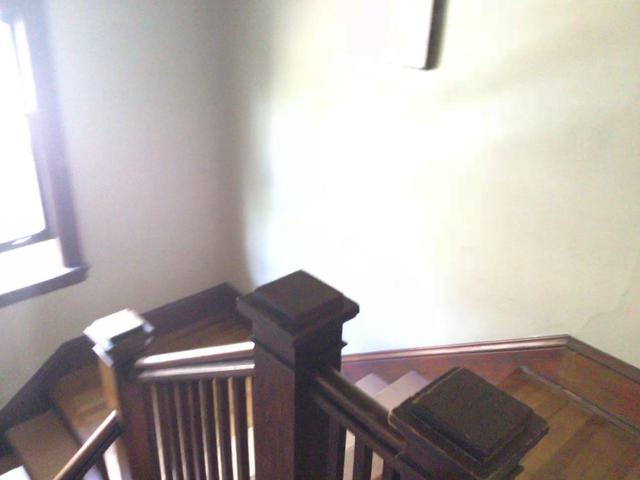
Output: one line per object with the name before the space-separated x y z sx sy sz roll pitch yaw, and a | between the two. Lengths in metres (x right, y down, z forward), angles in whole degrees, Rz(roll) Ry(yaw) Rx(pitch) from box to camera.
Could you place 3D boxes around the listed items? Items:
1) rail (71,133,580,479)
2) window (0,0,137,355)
rail | 0.010 0.680 2.280 1.190 1.870 1.240 -19 27 -35
window | -1.640 -0.330 2.720 1.100 1.730 0.400 -22 28 -34
